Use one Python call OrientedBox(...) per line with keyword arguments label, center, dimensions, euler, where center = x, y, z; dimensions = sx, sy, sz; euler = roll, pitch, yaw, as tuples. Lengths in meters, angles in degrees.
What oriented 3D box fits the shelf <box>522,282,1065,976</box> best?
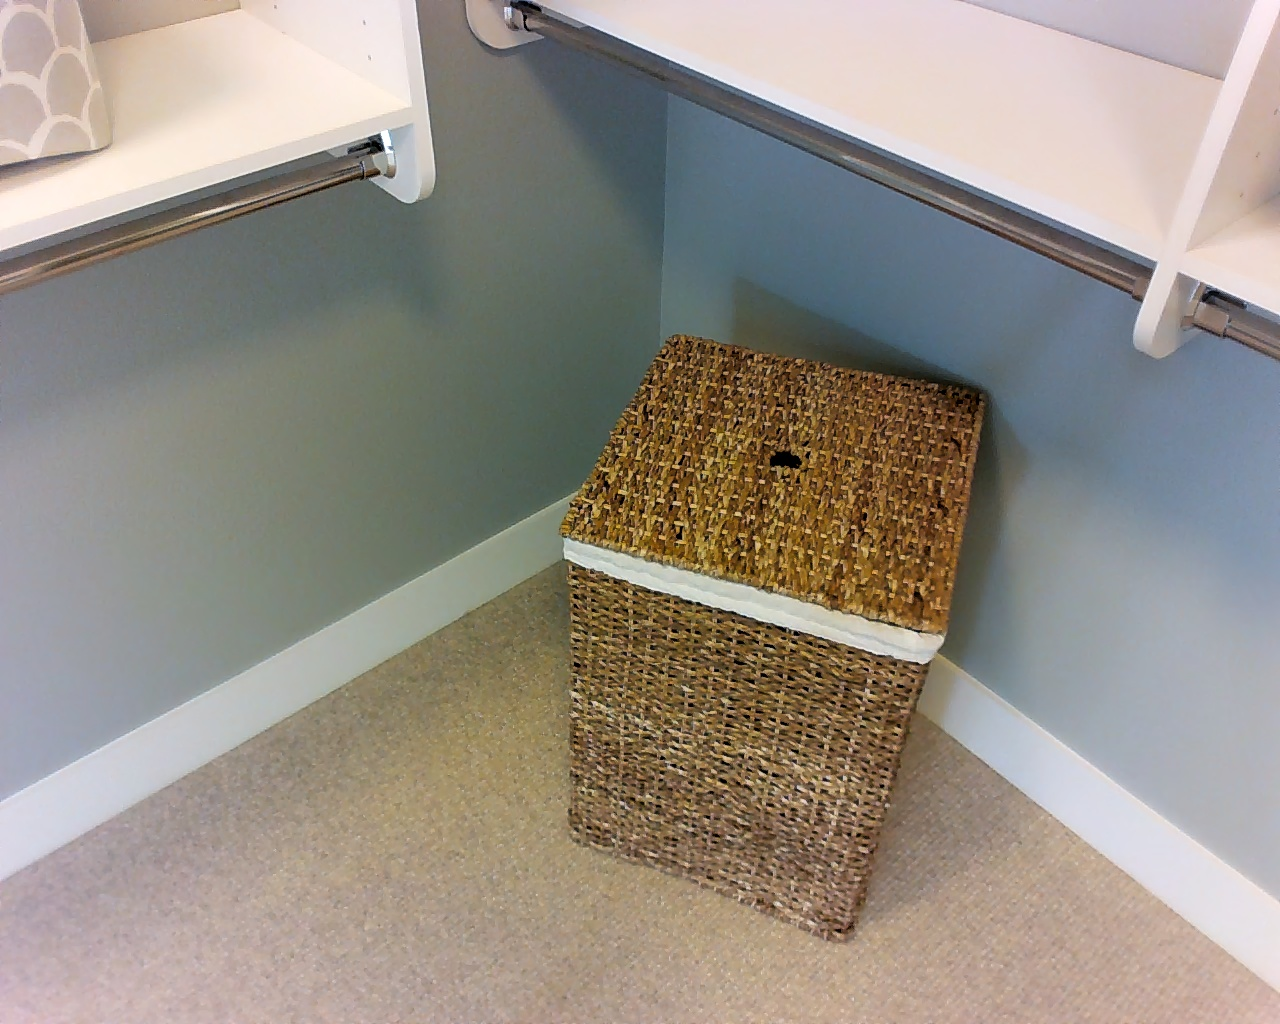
OrientedBox(label="shelf", center=(0.230, 0.150, 1.600), dimensions=(0.560, 0.660, 0.630), euler=(15, 43, 14))
